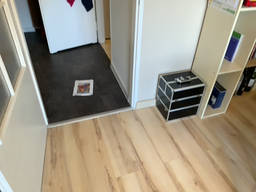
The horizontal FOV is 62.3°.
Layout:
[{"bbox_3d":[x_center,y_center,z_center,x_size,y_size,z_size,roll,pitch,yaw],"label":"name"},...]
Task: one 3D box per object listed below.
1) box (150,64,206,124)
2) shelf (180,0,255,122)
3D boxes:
[{"bbox_3d":[0.440,-0.020,1.970,0.330,0.400,0.310,-11,40,-17],"label":"box"},{"bbox_3d":[0.780,-0.480,1.720,0.300,1.500,0.350,-11,40,-17],"label":"shelf"}]
